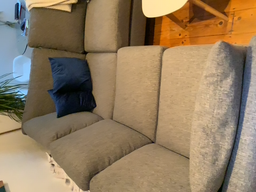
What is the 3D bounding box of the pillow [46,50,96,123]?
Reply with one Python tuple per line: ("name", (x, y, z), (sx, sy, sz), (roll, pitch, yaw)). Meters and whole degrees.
("pillow", (-0.520, -0.090, 1.980), (0.170, 0.350, 0.620), (129, 147, -57))
